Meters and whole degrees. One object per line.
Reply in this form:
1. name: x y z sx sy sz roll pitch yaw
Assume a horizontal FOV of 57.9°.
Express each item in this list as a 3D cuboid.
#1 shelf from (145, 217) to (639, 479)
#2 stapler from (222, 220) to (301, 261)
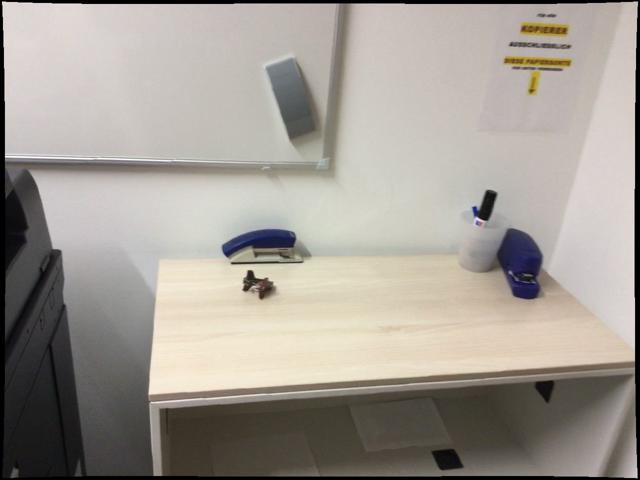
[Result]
1. shelf: 0.120 0.501 1.260 0.909 0.991 0.460 -1 26 -14
2. stapler: -0.120 0.000 1.170 0.150 0.060 0.060 -1 26 -14
